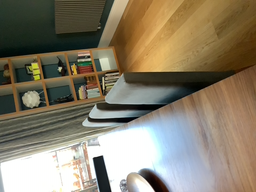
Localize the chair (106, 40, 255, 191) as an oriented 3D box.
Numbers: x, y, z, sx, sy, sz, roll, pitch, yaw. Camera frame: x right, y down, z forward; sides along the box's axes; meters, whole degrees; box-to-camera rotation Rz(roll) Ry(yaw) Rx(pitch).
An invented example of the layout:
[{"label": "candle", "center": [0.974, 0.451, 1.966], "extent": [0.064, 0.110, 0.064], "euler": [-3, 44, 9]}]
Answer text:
[{"label": "chair", "center": [0.440, 0.080, 1.160], "extent": [0.460, 0.930, 0.560], "euler": [144, 113, -67]}]
